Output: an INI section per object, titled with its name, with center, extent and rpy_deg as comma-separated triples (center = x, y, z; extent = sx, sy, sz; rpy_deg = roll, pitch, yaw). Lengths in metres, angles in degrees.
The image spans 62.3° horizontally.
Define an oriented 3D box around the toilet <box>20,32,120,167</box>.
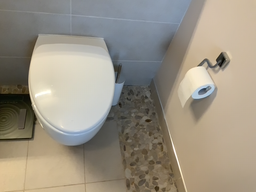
[toilet]
center = -0.320, 0.040, 1.210
extent = 0.390, 0.530, 0.530
rpy_deg = 0, 54, -16
